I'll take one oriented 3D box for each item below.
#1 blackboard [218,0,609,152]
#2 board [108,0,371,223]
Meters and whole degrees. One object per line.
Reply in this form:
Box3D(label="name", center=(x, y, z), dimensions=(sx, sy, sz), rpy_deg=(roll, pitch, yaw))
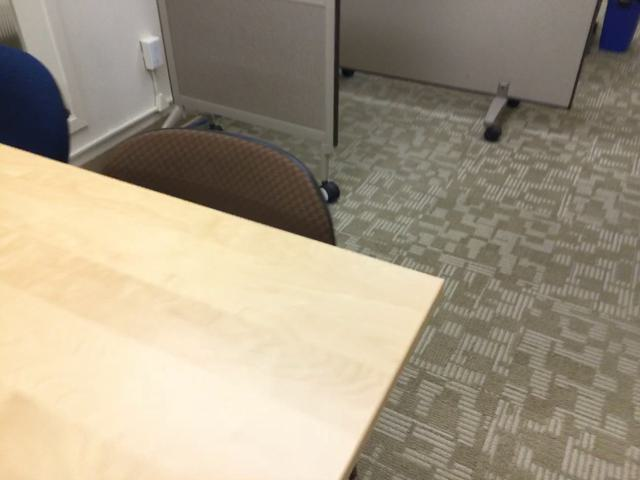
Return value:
Box3D(label="blackboard", center=(0.350, -1.070, 2.550), dimensions=(1.670, 0.960, 0.380), rpy_deg=(16, 39, 21))
Box3D(label="board", center=(-0.270, -0.810, 1.920), dimensions=(0.790, 1.350, 0.380), rpy_deg=(16, 39, 21))
